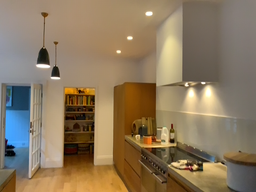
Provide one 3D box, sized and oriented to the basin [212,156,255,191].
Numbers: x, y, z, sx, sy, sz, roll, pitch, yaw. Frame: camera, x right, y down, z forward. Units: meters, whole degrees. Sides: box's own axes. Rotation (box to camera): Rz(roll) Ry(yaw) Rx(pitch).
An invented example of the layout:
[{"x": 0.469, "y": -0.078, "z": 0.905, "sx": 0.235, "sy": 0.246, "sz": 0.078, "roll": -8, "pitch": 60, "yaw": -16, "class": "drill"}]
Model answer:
[{"x": 0.870, "y": 0.610, "z": 1.620, "sx": 0.310, "sy": 0.210, "sz": 0.310, "roll": 1, "pitch": -1, "yaw": -12, "class": "basin"}]
